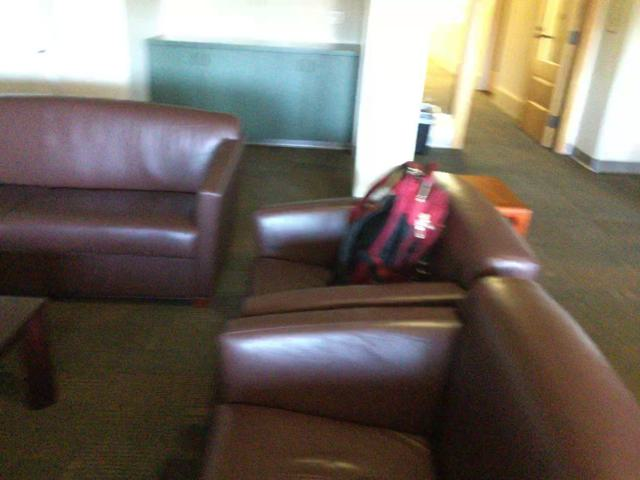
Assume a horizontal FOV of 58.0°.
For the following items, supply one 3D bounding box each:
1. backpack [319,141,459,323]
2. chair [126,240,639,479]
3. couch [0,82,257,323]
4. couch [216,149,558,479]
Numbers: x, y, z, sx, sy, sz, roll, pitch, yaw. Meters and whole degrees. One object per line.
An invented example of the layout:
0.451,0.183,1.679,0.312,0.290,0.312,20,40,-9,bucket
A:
0.180,-0.040,1.730,0.360,0.470,0.350,1,15,0,backpack
0.130,0.520,1.130,0.750,0.740,0.830,1,26,0,chair
-1.050,-0.200,2.480,1.470,0.780,0.800,-1,26,-2,couch
0.130,0.200,1.860,0.790,0.740,0.840,-2,26,-4,couch
